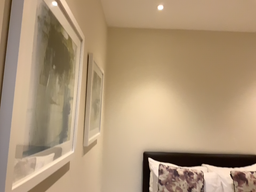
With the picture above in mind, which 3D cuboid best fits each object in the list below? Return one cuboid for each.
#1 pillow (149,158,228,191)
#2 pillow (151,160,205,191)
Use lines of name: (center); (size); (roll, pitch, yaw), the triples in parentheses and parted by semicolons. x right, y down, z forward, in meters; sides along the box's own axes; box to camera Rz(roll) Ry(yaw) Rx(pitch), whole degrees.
pillow: (0.580, 0.930, 2.190); (0.690, 0.450, 0.460); (2, -5, 1)
pillow: (0.460, 0.840, 1.990); (0.410, 0.350, 0.130); (15, -5, 2)
